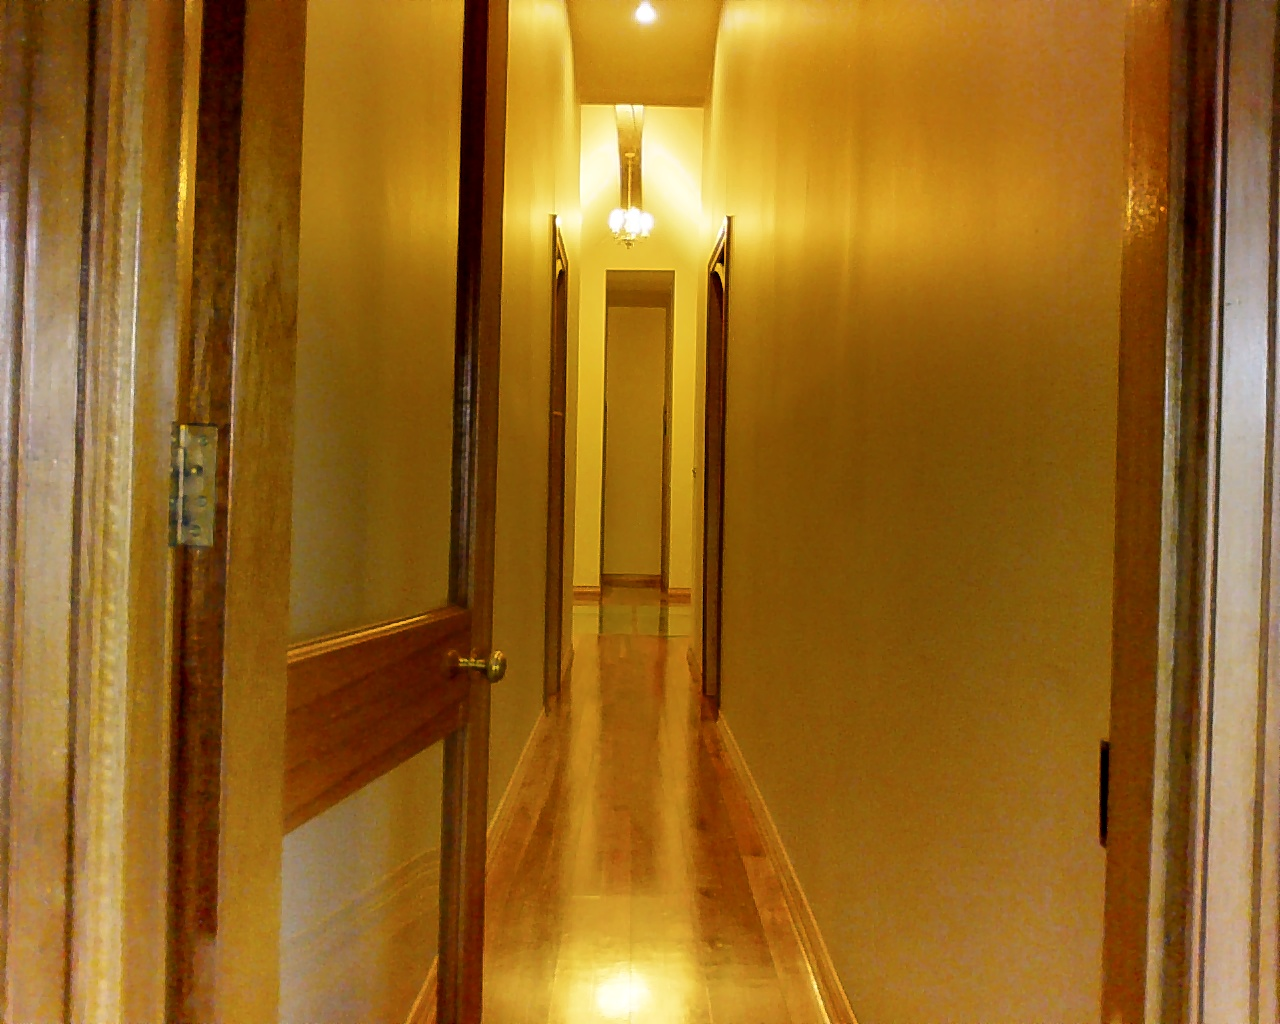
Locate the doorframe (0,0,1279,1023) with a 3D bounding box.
[{"bbox_3d":[-0.030,0.030,0.730,1.030,2.211,0.220,1,-1,1],"label":"doorframe"}]
